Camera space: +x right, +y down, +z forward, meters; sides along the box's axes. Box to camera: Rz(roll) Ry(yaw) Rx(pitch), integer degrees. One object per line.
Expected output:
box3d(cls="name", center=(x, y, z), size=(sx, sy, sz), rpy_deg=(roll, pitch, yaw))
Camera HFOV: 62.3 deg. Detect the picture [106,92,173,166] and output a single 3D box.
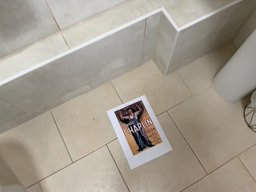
box3d(cls="picture", center=(0.050, 0.150, 1.010), size=(0.210, 0.030, 0.290), rpy_deg=(-24, 72, -8))
